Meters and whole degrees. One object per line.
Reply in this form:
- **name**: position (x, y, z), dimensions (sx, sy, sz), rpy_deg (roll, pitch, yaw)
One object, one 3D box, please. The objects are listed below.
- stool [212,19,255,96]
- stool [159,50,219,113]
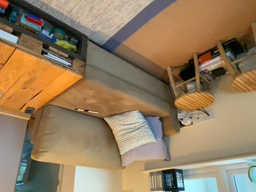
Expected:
- **stool**: position (0.970, -0.290, 1.730), dimensions (0.320, 0.420, 0.350), rpy_deg (22, 145, -39)
- **stool**: position (0.580, -0.120, 2.070), dimensions (0.340, 0.410, 0.390), rpy_deg (22, 145, -39)
